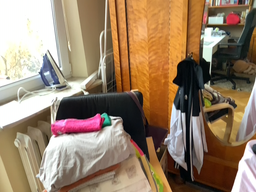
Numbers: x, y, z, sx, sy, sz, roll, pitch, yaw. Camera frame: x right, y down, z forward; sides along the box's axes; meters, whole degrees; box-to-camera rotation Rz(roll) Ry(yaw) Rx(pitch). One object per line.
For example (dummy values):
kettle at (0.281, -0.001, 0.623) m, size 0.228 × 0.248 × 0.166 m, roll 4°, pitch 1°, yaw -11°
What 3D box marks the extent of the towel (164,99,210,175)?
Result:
towel at (0.410, 0.290, 1.520) m, size 0.280 × 0.500 × 0.110 m, roll 10°, pitch 26°, yaw 29°
